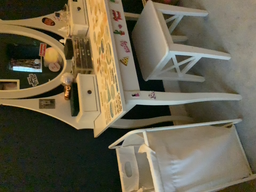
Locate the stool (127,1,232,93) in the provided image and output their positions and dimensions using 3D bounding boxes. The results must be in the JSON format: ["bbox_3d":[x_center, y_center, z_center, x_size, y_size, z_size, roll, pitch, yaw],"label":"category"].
[{"bbox_3d":[0.300,-0.280,1.350,0.330,0.450,0.420,133,131,-56],"label":"stool"}]
